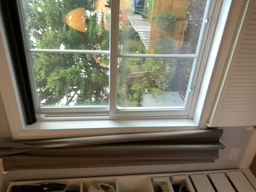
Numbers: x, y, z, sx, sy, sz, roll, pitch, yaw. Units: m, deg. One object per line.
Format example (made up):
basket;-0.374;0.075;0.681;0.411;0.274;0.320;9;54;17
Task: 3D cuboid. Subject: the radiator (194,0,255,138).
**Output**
radiator;0.980;-0.180;1.610;0.100;0.670;1.210;-103;15;-58
